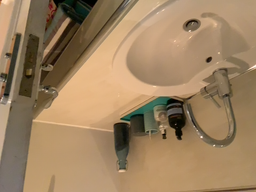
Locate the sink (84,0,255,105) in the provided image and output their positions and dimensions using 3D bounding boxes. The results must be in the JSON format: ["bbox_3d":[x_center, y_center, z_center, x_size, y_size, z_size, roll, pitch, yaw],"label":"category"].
[{"bbox_3d":[0.200,-0.200,0.740,0.490,0.190,0.590,13,150,-33],"label":"sink"}]
